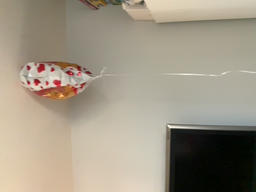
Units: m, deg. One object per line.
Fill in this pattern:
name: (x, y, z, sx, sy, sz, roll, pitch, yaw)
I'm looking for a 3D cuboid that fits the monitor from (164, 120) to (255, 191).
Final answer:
monitor: (0.560, 0.640, 1.340, 0.060, 0.660, 0.910, -14, -74, -65)
